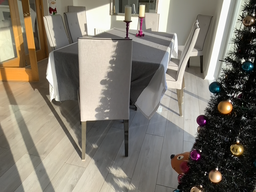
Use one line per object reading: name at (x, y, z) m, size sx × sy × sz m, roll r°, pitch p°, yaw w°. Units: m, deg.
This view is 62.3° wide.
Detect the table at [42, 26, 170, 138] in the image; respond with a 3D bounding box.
table at (-0.080, -0.420, 3.010) m, size 1.110 × 0.780 × 2.030 m, roll 9°, pitch 26°, yaw 11°

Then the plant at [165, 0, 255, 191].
plant at (0.450, 0.110, 0.870) m, size 0.380 × 1.700 × 0.400 m, roll 4°, pitch 26°, yaw 2°

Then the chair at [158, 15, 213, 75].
chair at (1.090, -1.010, 4.130) m, size 0.740 × 1.020 × 0.480 m, roll -11°, pitch 29°, yaw -27°

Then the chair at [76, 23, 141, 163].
chair at (-0.210, -0.050, 1.890) m, size 0.430 × 1.050 × 0.630 m, roll -2°, pitch 26°, yaw -11°
